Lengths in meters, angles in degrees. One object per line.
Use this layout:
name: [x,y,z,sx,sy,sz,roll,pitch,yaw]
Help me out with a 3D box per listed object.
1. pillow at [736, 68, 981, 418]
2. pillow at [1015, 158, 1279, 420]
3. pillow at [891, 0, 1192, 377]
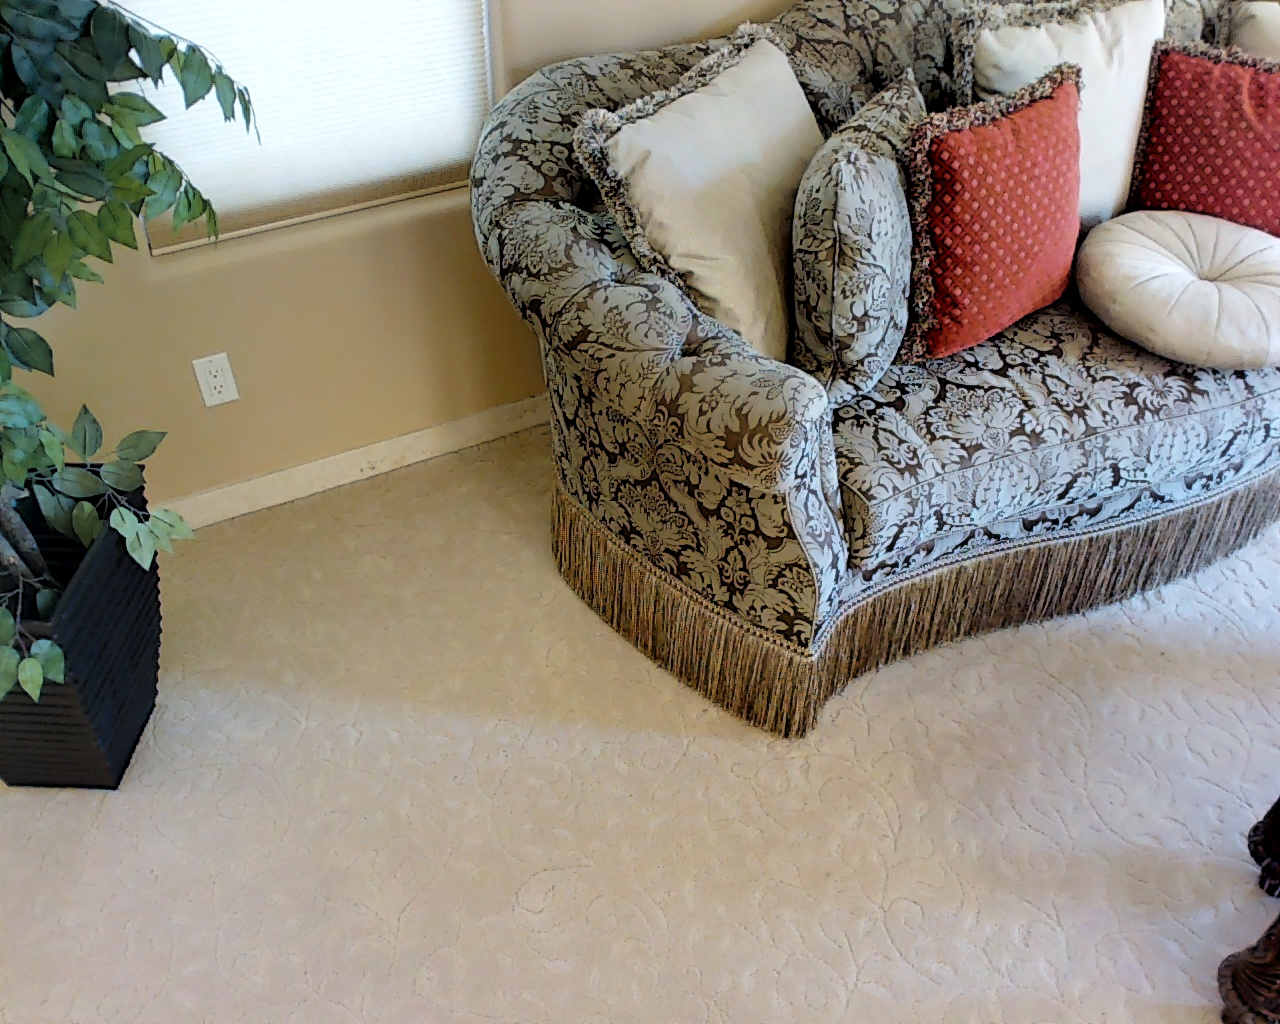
pillow: [0.380,-0.440,1.790,0.280,0.440,0.230,-38,50,-14]
pillow: [1.110,-0.450,2.030,0.550,0.150,0.500,-23,47,-25]
pillow: [0.710,-0.580,1.920,0.510,0.460,0.160,-35,50,-13]
